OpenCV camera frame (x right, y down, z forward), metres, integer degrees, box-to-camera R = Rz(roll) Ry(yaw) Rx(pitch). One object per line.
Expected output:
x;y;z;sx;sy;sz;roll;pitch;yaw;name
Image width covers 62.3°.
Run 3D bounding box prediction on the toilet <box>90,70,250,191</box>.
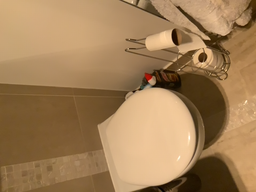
0.150;0.190;0.970;0.520;0.360;0.360;-37;63;41;toilet
